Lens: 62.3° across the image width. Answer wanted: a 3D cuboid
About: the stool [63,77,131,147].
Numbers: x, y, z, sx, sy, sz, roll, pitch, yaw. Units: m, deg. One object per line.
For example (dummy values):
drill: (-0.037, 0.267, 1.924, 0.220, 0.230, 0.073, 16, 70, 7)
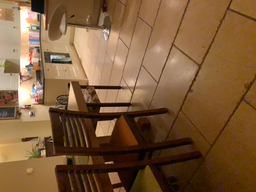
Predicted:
stool: (-0.450, 0.200, 2.820, 0.560, 0.670, 0.680, -121, 40, -47)
